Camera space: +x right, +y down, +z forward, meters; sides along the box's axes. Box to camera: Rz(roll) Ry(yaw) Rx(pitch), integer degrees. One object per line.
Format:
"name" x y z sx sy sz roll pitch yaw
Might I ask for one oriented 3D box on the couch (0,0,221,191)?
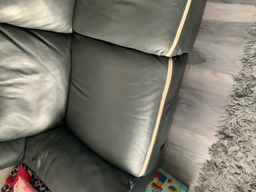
"couch" -0.200 -0.560 0.900 1.010 0.950 2.360 21 111 27
